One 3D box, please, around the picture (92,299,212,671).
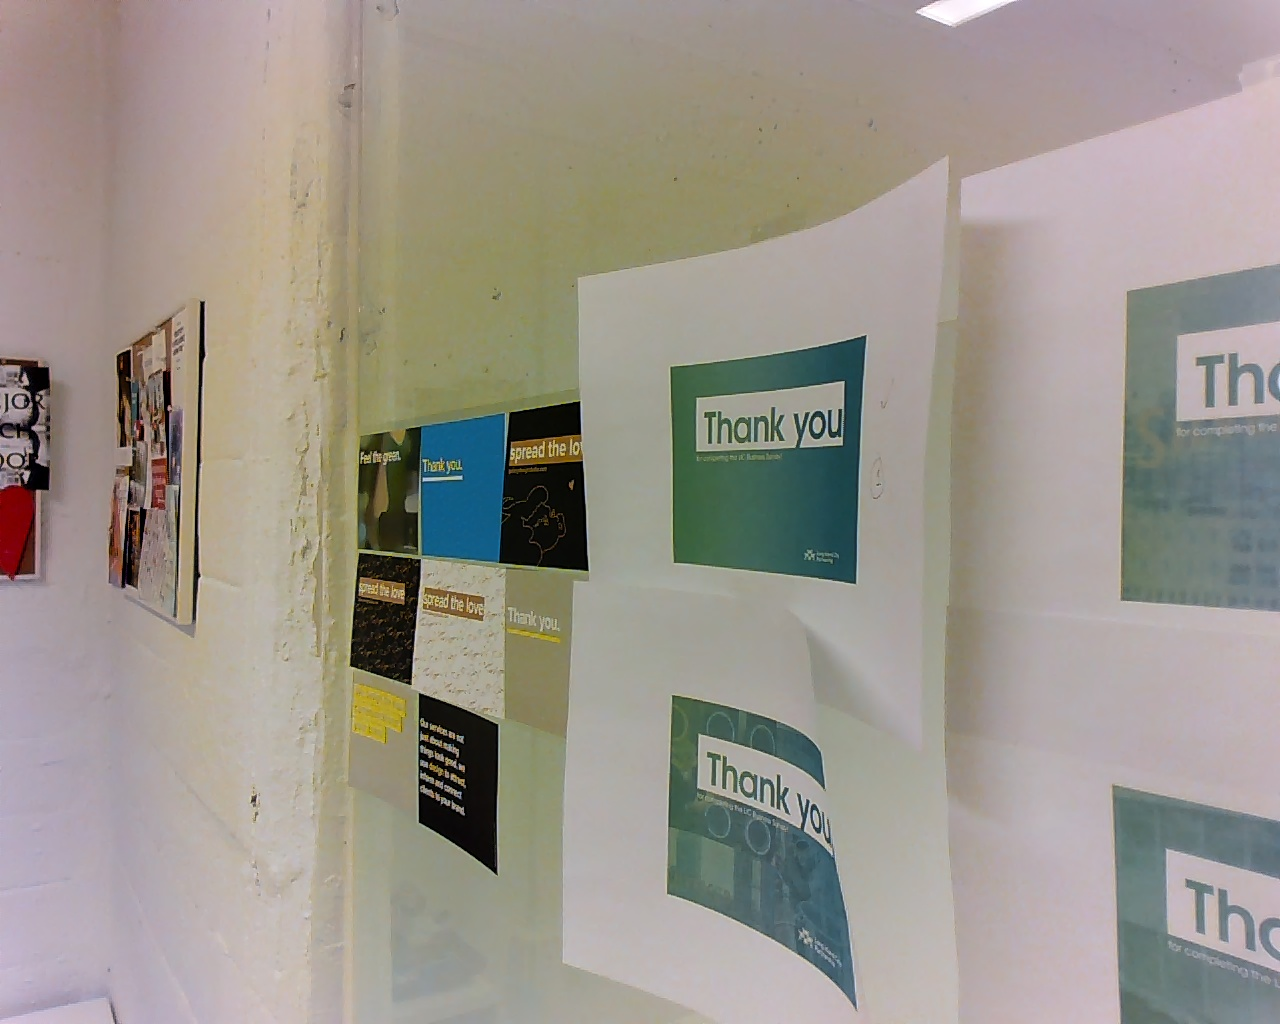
[{"bbox_3d":[-0.710,-0.030,1.530,0.050,0.440,0.600,0,-1,-34],"label":"picture"}]
